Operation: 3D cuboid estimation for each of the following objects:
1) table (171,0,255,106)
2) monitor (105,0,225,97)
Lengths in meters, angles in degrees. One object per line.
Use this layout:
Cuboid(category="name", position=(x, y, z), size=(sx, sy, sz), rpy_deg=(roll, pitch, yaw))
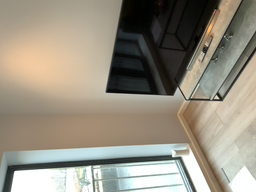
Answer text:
Cuboid(category="table", position=(0.820, -0.420, 1.910), size=(0.360, 0.420, 1.070), rpy_deg=(-106, 25, -45))
Cuboid(category="monitor", position=(0.270, -0.460, 1.740), size=(0.070, 0.730, 1.230), rpy_deg=(-105, 24, -43))
